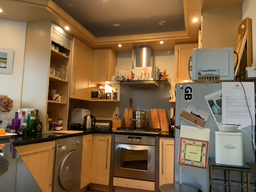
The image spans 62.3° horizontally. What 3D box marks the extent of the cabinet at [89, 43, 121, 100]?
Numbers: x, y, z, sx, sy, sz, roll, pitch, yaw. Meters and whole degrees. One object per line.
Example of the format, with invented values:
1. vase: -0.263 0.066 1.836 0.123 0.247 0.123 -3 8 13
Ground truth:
1. cabinet: -0.390 -0.390 3.630 0.410 0.910 0.360 0 -5 16

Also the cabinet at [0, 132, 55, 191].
1. cabinet: -1.170 0.830 2.020 0.610 0.880 0.620 0 -5 16

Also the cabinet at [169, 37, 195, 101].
1. cabinet: 0.840 -0.390 3.280 0.370 0.910 0.370 0 -5 16
